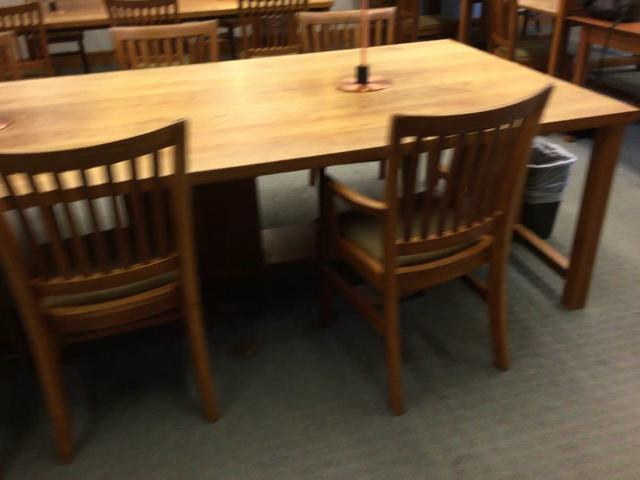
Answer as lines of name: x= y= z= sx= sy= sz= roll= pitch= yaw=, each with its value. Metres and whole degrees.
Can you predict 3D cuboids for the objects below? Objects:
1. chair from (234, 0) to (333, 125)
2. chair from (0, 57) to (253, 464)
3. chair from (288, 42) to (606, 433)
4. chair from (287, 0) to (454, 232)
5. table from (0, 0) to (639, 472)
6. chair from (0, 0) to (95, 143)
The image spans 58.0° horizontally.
chair: x=-0.270 y=-1.400 z=4.120 sx=0.540 sy=0.910 sz=0.610 roll=-11 pitch=34 yaw=-10
chair: x=-0.590 y=0.050 z=1.720 sx=0.540 sy=0.950 sz=0.580 roll=-14 pitch=35 yaw=-14
chair: x=0.310 y=-0.020 z=1.760 sx=0.620 sy=0.920 sz=0.590 roll=-11 pitch=34 yaw=-10
chair: x=0.230 y=-0.620 z=2.830 sx=0.590 sy=0.910 sz=0.570 roll=-11 pitch=34 yaw=-10
table: x=-0.450 y=-0.210 z=2.230 sx=2.780 sy=0.910 sz=1.490 roll=-11 pitch=34 yaw=-10
chair: x=-1.970 y=-1.250 z=3.970 sx=0.530 sy=0.920 sz=0.610 roll=-11 pitch=34 yaw=-10
